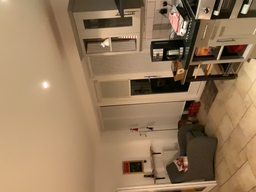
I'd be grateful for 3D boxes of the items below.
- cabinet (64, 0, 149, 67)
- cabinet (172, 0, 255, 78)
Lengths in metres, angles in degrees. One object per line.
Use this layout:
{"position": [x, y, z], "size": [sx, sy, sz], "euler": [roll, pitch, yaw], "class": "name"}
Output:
{"position": [-0.230, -0.790, 2.610], "size": [0.830, 0.880, 0.300], "euler": [89, 176, -52], "class": "cabinet"}
{"position": [1.100, -0.730, 2.570], "size": [0.730, 0.900, 0.630], "euler": [89, 176, -52], "class": "cabinet"}
